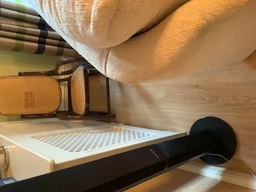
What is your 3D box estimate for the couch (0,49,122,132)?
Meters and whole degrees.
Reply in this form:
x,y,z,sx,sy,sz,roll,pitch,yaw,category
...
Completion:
x,y,z,sx,sy,sz,roll,pitch,yaw,category
-0.540,-0.030,1.590,0.670,0.730,0.430,-1,90,44,couch
